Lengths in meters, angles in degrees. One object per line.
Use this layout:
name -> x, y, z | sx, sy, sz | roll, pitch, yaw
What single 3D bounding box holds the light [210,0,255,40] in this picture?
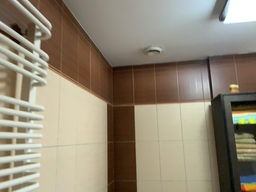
light -> 0.820, -0.610, 1.400 | 0.180, 0.430, 0.350 | 47, -60, 44
